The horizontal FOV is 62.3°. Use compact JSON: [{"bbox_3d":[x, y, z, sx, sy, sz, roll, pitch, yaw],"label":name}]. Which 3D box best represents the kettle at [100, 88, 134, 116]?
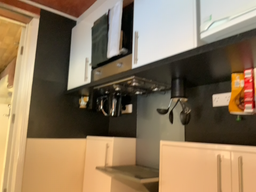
[{"bbox_3d":[-0.110,0.070,2.250,0.300,0.250,0.180,10,168,-38],"label":"kettle"}]
